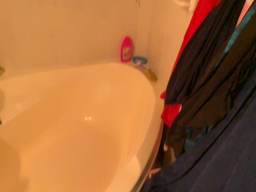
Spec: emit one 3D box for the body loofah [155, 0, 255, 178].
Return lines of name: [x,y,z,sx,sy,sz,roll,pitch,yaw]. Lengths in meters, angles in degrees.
body loofah: [0.290,-0.020,0.820,0.190,0.860,0.210,-8,41,-14]

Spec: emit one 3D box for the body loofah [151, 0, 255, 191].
body loofah: [0.310,0.150,0.680,0.300,1.000,0.220,-6,41,-12]

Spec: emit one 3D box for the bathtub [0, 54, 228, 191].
bathtub: [-0.380,0.400,1.320,1.410,0.580,1.450,-6,41,-12]
